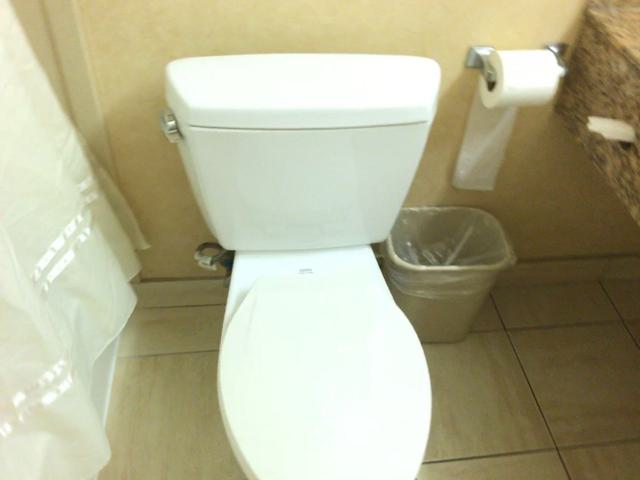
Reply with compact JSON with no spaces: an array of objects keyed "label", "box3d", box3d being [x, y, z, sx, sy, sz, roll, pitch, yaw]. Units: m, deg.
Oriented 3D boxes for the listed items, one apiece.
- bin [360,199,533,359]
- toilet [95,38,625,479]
[{"label":"bin","box3d":[0.290,0.100,1.440,0.320,0.320,0.220,-3,44,-7]},{"label":"toilet","box3d":[-0.010,0.150,1.070,0.510,0.740,0.750,-3,44,-7]}]
